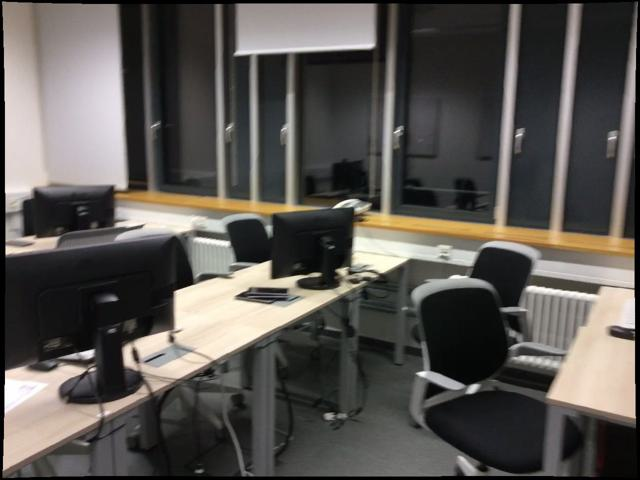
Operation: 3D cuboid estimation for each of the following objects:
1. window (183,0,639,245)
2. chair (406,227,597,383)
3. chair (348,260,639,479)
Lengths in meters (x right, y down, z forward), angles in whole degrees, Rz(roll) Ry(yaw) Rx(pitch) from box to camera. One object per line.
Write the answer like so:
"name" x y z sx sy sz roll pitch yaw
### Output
"window" 0.759 -0.981 3.550 3.897 1.692 0.440 8 16 31
"chair" 0.879 0.280 2.890 0.659 0.531 0.580 -7 15 -27
"chair" 0.589 0.641 2.100 0.670 0.911 0.740 -8 15 -30
